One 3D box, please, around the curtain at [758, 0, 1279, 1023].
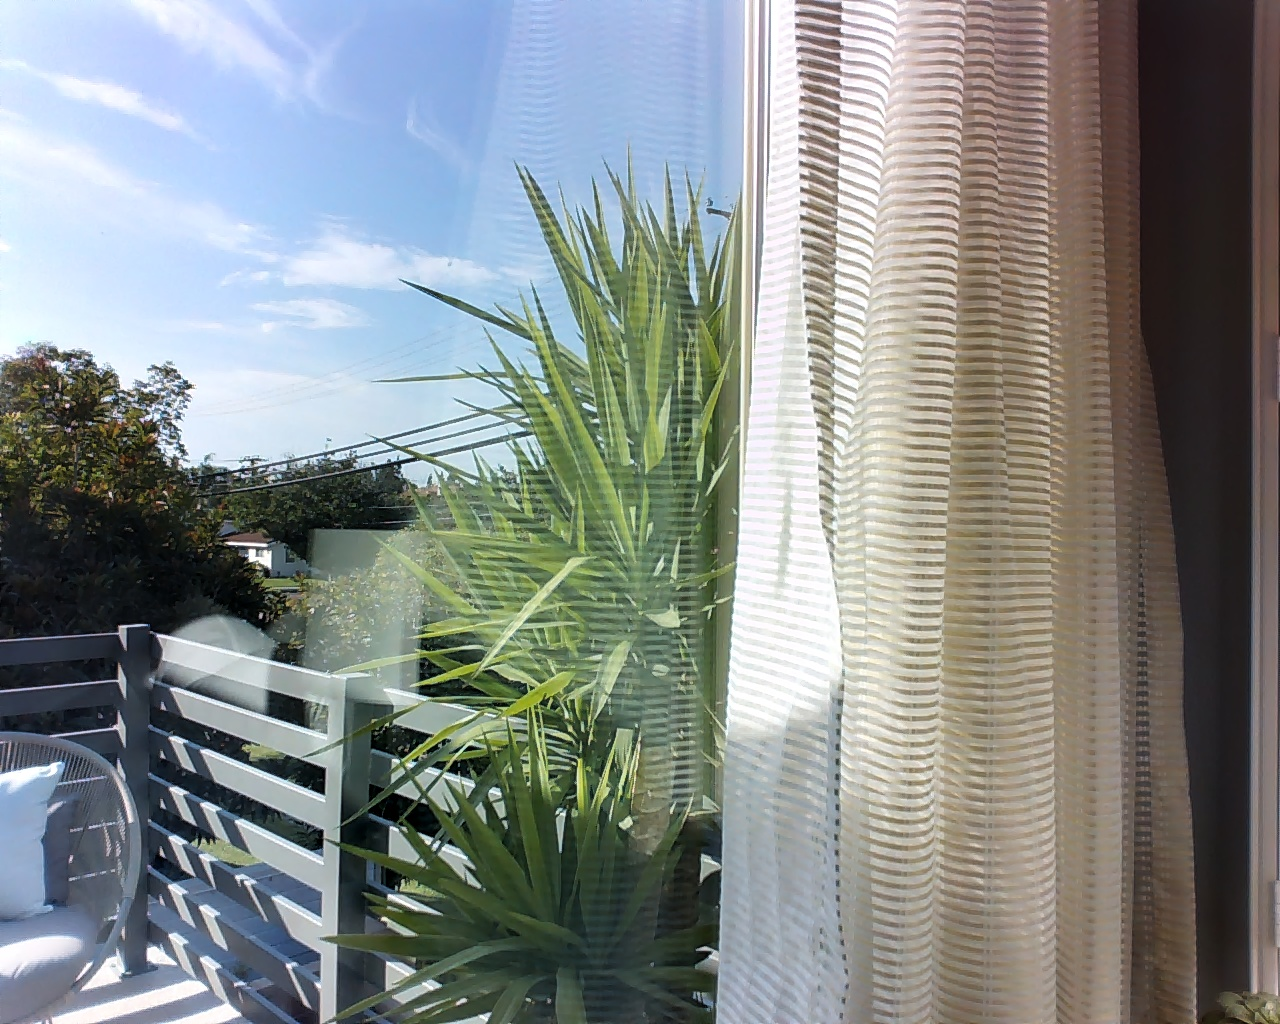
[{"bbox_3d":[0.380,0.180,0.940,0.220,2.591,0.610,-1,-2,44],"label":"curtain"}]
